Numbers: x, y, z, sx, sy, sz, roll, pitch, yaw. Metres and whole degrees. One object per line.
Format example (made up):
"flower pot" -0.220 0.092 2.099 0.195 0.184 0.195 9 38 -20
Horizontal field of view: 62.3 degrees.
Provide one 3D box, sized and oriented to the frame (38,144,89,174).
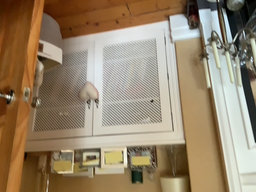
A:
"frame" -0.520 0.520 1.740 0.320 0.210 0.220 -6 161 13
